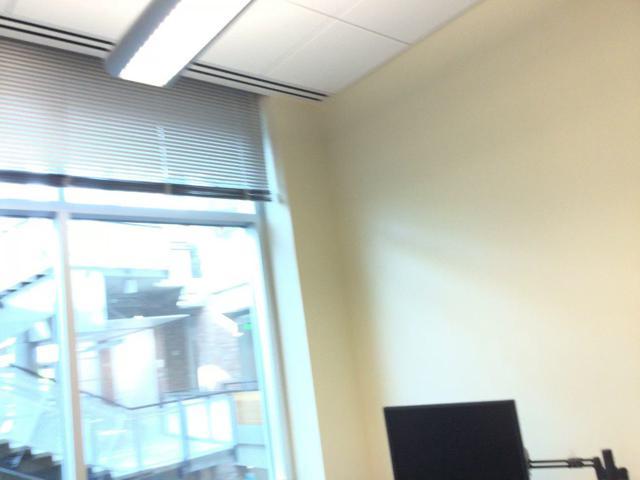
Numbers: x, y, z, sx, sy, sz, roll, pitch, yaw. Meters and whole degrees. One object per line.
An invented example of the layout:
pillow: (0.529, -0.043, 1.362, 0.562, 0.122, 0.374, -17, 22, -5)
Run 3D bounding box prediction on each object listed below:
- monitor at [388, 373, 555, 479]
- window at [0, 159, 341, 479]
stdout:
monitor: (0.600, 0.870, 2.270, 0.540, 0.600, 0.170, -19, -14, 35)
window: (-0.990, 0.610, 2.430, 2.170, 1.810, 0.440, -1, -15, -39)
